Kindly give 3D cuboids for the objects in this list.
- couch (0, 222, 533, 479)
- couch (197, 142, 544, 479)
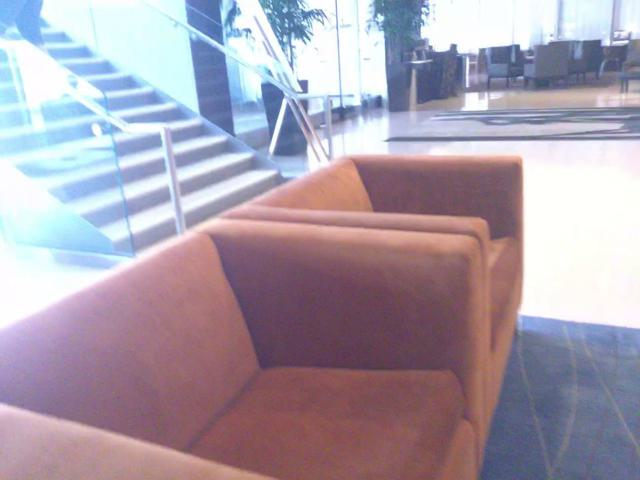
[{"bbox_3d":[-0.120,0.490,1.140,0.860,0.790,0.980,5,18,27],"label":"couch"},{"bbox_3d":[0.270,0.140,2.020,0.820,0.830,1.040,4,18,26],"label":"couch"}]
